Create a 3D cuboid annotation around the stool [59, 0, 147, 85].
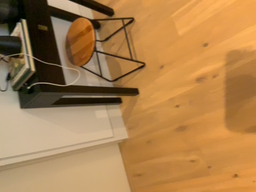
[{"bbox_3d":[-0.190,-0.360,1.630,0.380,0.460,0.440,-22,76,39],"label":"stool"}]
